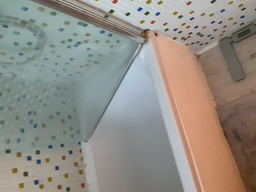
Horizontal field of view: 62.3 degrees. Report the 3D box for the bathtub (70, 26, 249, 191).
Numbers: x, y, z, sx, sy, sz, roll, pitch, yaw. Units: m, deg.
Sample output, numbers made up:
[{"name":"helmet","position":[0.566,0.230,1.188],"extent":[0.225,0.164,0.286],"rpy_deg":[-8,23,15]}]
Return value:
[{"name":"bathtub","position":[0.230,0.560,1.300],"extent":[0.730,0.600,1.660],"rpy_deg":[-27,69,38]}]
